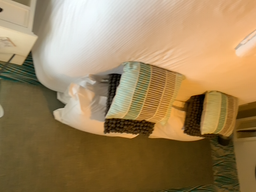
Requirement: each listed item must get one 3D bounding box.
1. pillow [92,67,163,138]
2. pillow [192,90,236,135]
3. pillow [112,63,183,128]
[{"bbox_3d":[0.000,0.050,1.420,0.370,0.410,0.150,10,-176,-33],"label":"pillow"},{"bbox_3d":[0.750,0.150,1.830,0.380,0.340,0.130,10,176,-35],"label":"pillow"},{"bbox_3d":[0.130,0.010,1.280,0.390,0.330,0.120,10,-178,-37],"label":"pillow"}]
